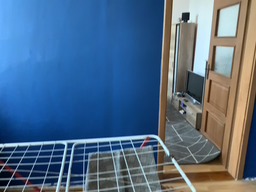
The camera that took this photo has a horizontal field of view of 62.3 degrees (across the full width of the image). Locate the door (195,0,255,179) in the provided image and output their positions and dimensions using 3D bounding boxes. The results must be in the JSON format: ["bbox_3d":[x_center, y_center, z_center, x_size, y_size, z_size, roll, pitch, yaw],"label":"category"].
[{"bbox_3d":[1.160,-0.200,2.600,0.200,2.130,0.950,0,15,-1],"label":"door"}]
